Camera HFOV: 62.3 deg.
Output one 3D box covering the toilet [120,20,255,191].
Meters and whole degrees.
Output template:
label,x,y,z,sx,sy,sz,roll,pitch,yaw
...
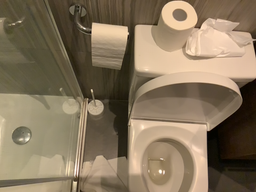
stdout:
label,x,y,z,sx,sy,sz,roll,pitch,yaw
toilet,0.190,0.210,0.950,0.410,0.810,0.650,2,70,-4
